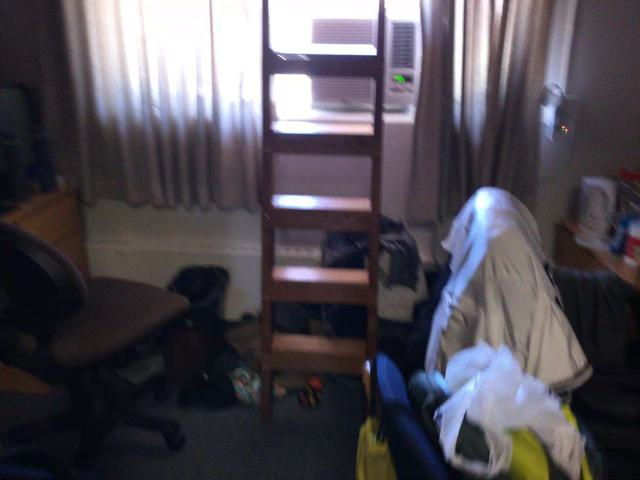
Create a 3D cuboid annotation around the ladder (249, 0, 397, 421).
[{"bbox_3d":[0.010,-0.160,2.080,0.460,1.660,0.240,1,14,2],"label":"ladder"}]
